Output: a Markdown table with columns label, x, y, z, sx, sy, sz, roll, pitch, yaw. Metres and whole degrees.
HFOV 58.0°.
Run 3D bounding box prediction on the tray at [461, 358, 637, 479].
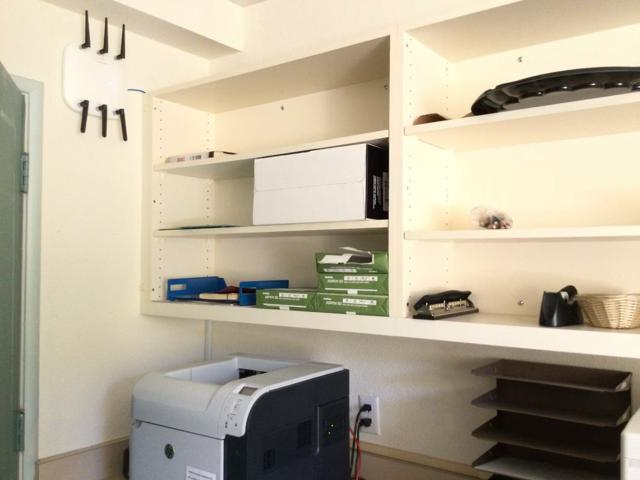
| label | x | y | z | sx | sy | sz | roll | pitch | yaw |
| --- | --- | --- | --- | --- | --- | --- | --- | --- | --- |
| tray | 0.530 | 0.540 | 1.340 | 0.320 | 0.460 | 0.250 | 0 | -2 | 38 |

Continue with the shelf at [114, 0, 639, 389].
| label | x | y | z | sx | sy | sz | roll | pitch | yaw |
| --- | --- | --- | --- | --- | --- | --- | --- | --- | --- |
| shelf | 0.240 | -0.140 | 1.470 | 1.950 | 0.790 | 0.430 | 0 | -2 | 38 |

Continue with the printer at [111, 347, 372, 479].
| label | x | y | z | sx | sy | sz | roll | pitch | yaw |
| --- | --- | --- | --- | --- | --- | --- | --- | --- | --- |
| printer | -0.200 | 0.540 | 1.550 | 0.470 | 0.400 | 0.500 | 0 | -2 | 38 |
